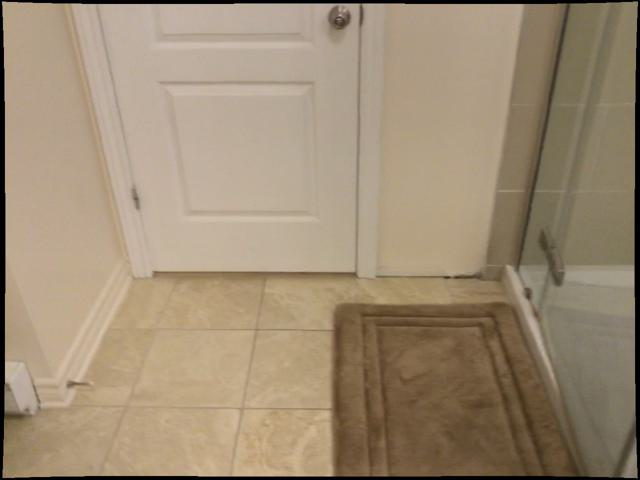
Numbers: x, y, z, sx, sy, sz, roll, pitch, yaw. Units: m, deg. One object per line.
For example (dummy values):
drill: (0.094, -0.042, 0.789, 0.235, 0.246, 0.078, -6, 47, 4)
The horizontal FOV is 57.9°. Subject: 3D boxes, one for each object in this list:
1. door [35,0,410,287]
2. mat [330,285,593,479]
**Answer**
door: (-0.270, -0.741, 1.600, 1.039, 2.061, 0.080, 2, 32, 0)
mat: (0.340, 0.440, 1.630, 0.619, 0.080, 0.910, 2, 32, 0)
